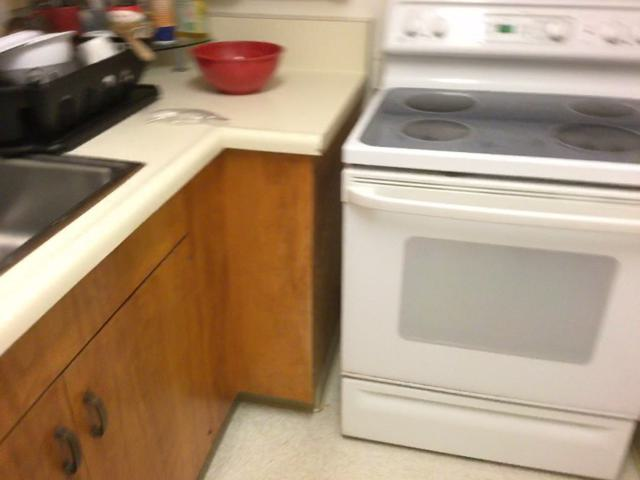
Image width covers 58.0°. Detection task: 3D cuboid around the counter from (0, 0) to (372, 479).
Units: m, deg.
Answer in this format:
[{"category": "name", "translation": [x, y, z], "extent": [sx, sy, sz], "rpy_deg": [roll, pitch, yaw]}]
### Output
[{"category": "counter", "translation": [-0.500, -0.220, 1.150], "extent": [0.960, 0.280, 1.840], "rpy_deg": [7, 29, 10]}]

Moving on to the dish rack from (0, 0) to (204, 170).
[{"category": "dish rack", "translation": [-0.610, -0.400, 1.350], "extent": [0.460, 0.230, 0.600], "rpy_deg": [7, 29, 10]}]

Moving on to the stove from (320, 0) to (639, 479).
[{"category": "stove", "translation": [0.500, -0.020, 1.580], "extent": [0.840, 1.190, 0.720], "rpy_deg": [7, 29, 10]}]
